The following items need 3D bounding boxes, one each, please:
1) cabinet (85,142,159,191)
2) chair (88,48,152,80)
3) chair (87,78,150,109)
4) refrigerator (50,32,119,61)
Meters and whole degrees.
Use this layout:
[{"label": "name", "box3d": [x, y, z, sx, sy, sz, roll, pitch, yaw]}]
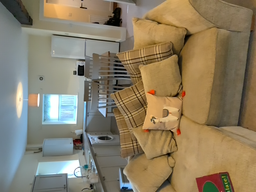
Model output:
[{"label": "cabinet", "box3d": [-0.260, 1.550, 4.140, 1.970, 0.900, 0.600, -156, 69, -70]}, {"label": "chair", "box3d": [-0.170, -0.570, 3.920, 0.610, 1.020, 0.470, -159, 72, -71]}, {"label": "chair", "box3d": [-0.200, -0.060, 3.950, 0.610, 1.030, 0.470, -159, 72, -71]}, {"label": "refrigerator", "box3d": [-1.220, -1.360, 5.980, 0.650, 1.780, 0.560, -155, 69, -70]}]
